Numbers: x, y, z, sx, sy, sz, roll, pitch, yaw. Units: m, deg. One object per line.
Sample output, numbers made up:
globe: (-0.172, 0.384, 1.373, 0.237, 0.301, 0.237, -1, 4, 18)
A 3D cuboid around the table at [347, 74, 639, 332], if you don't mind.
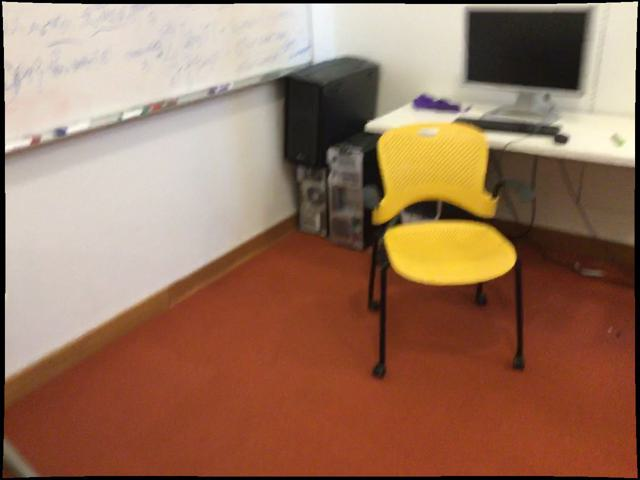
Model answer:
table: (0.999, -0.240, 2.700, 1.619, 0.761, 0.670, 17, 32, 30)
